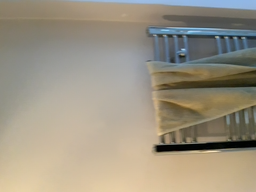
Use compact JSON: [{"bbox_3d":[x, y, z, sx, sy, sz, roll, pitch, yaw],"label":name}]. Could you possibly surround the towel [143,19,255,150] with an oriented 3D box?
[{"bbox_3d":[0.420,-0.040,0.820,0.150,0.700,0.430,168,101,-81],"label":"towel"}]
